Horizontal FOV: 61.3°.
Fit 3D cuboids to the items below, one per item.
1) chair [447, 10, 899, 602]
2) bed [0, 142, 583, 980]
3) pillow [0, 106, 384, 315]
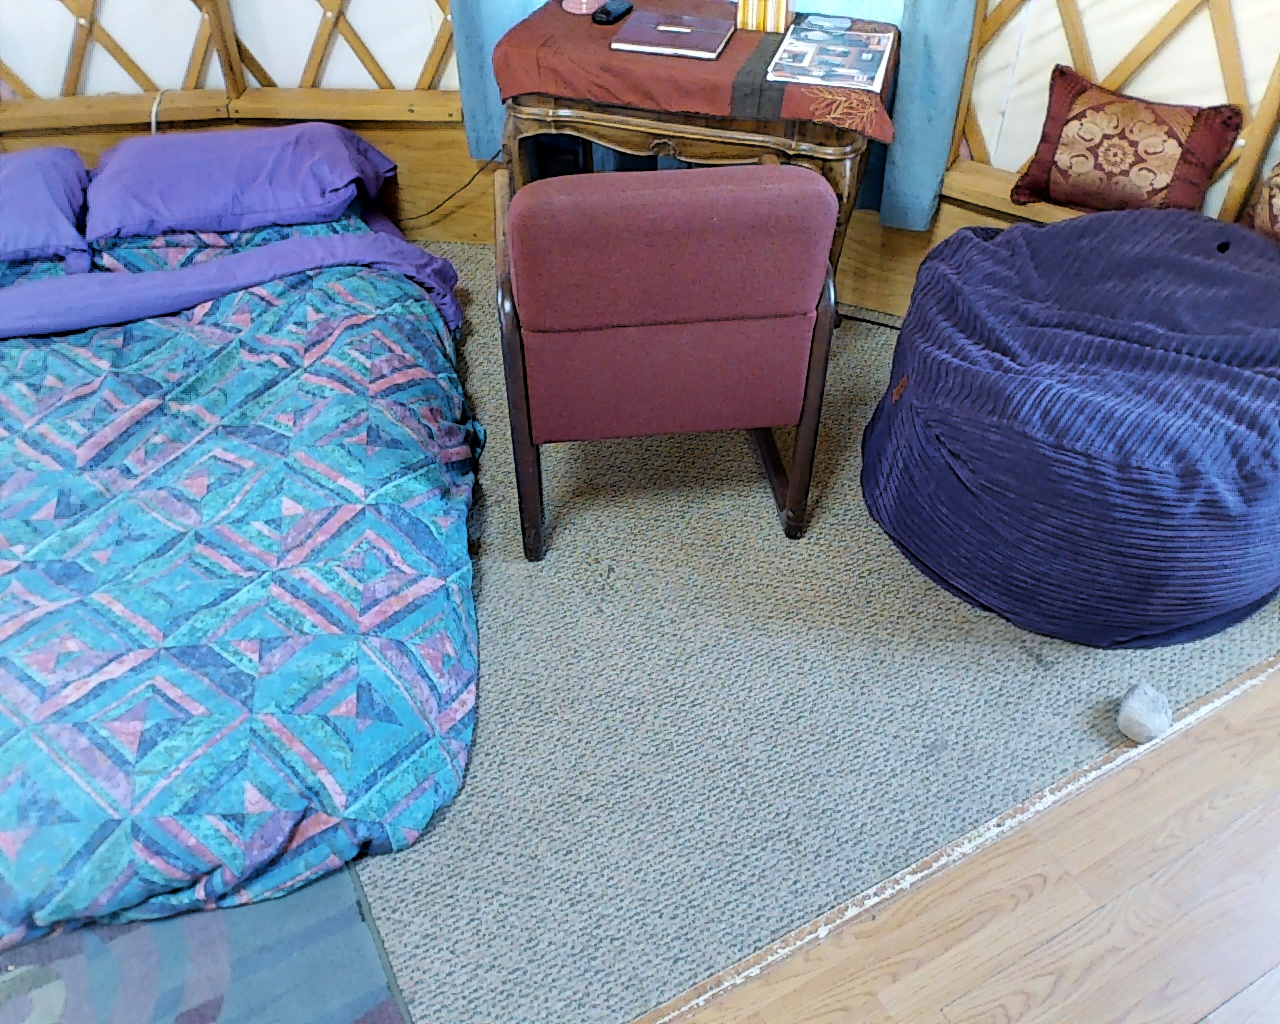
[{"bbox_3d":[0.010,-0.410,2.120,0.650,0.840,0.720,-6,43,-7],"label":"chair"},{"bbox_3d":[-1.220,-0.100,2.200,1.840,0.290,2.070,-9,43,-10],"label":"bed"},{"bbox_3d":[-1.390,-0.750,2.640,1.390,0.210,0.650,-1,42,-1],"label":"pillow"}]
